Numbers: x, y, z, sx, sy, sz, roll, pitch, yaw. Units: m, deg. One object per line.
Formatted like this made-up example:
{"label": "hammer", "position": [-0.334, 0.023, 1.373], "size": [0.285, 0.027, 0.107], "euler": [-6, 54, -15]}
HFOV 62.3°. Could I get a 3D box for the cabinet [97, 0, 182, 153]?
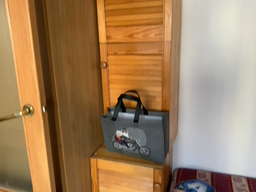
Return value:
{"label": "cabinet", "position": [0.080, -0.340, 1.200], "size": [0.390, 1.230, 0.320], "euler": [5, 16, 18]}
